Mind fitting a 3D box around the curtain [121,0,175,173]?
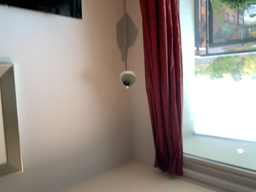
[{"bbox_3d":[0.180,-0.470,1.930,0.400,2.230,0.250,3,-173,40],"label":"curtain"}]
